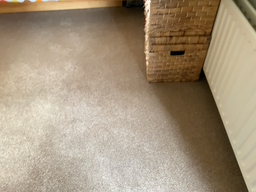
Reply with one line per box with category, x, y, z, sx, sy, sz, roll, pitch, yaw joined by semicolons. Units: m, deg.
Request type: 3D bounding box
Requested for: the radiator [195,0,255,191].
radiator;0.520;0.020;0.960;0.100;0.580;0.910;-1;50;0
